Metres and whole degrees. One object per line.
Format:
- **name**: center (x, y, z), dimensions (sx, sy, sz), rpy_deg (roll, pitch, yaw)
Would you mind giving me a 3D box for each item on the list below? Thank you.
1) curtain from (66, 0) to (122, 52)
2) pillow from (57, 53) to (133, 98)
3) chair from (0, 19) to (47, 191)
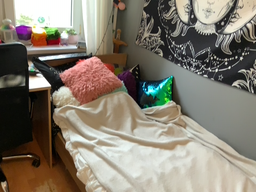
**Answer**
- **curtain**: center (-0.270, -1.200, 1.810), dimensions (0.370, 1.550, 0.370), rpy_deg (-13, 34, -37)
- **pillow**: center (-0.290, -0.200, 1.810), dimensions (0.440, 0.160, 0.490), rpy_deg (-13, 34, -38)
- **chair**: center (-0.960, 0.070, 1.500), dimensions (0.510, 1.060, 0.700), rpy_deg (-12, 33, -36)
